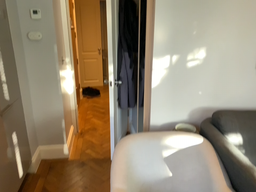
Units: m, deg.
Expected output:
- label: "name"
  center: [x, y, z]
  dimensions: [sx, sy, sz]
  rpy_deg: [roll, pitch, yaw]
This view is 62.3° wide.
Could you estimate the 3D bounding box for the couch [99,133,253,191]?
- label: "couch"
  center: [0.220, 0.750, 1.290]
  dimensions: [0.750, 0.700, 0.830]
  rpy_deg: [-1, 19, -4]
